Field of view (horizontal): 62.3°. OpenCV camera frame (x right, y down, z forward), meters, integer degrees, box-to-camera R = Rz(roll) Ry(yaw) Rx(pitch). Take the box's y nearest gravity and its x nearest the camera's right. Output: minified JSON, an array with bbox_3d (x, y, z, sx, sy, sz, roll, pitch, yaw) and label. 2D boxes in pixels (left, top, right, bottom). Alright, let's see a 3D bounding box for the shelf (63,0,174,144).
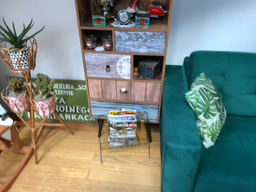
[{"bbox_3d":[-0.050,-0.440,1.550,0.670,1.830,0.310,4,34,5],"label":"shelf"}]
